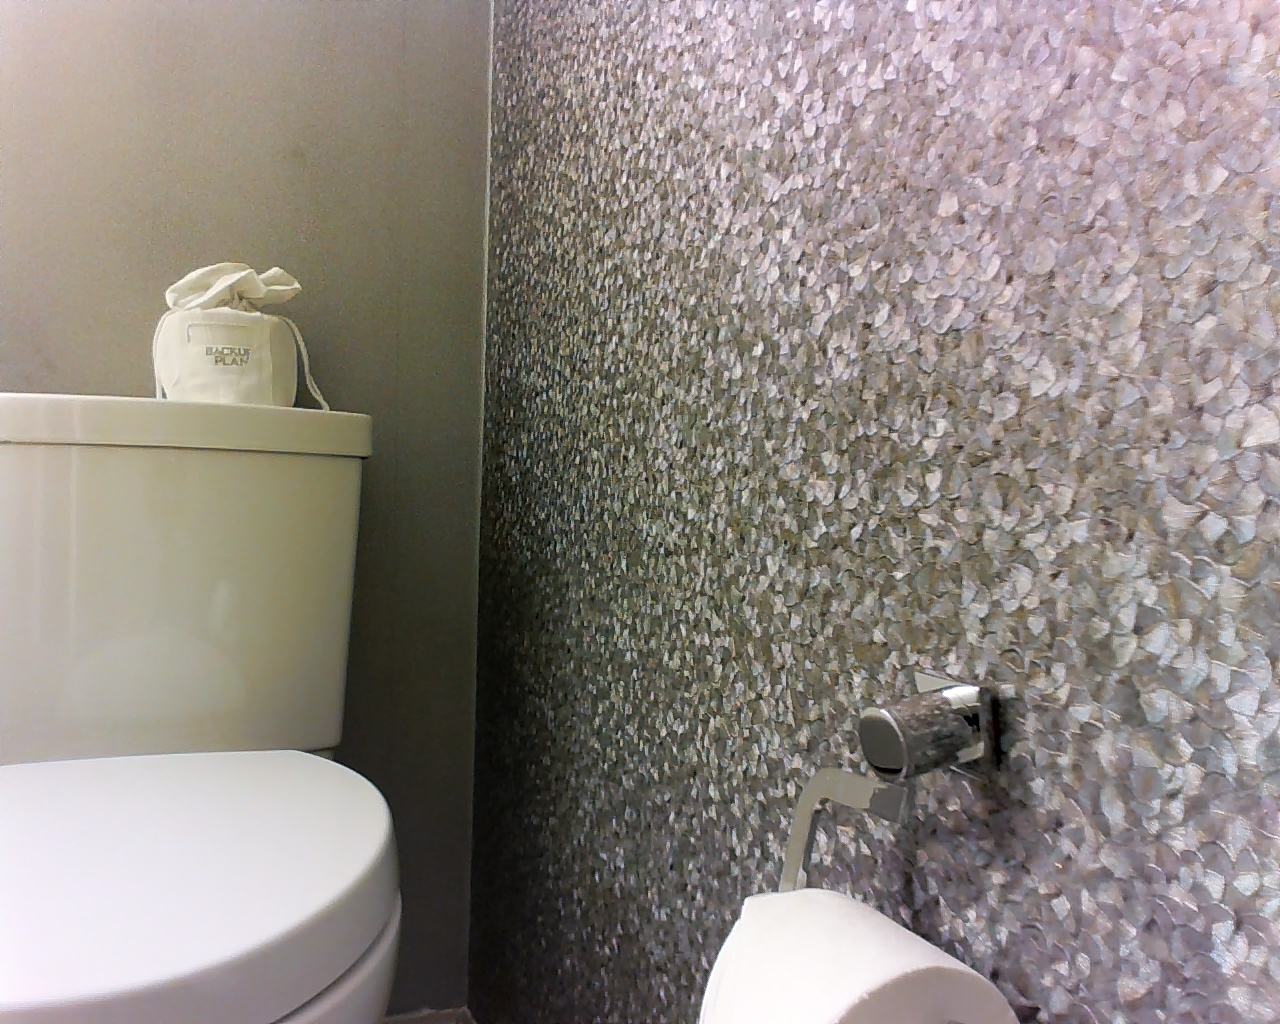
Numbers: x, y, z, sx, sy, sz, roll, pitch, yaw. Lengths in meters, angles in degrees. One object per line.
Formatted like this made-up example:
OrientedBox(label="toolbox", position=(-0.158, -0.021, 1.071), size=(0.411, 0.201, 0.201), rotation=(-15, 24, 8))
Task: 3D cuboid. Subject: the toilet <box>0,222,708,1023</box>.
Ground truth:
OrientedBox(label="toilet", position=(-0.350, 0.280, 0.880), size=(0.500, 0.820, 0.790), rotation=(1, 0, -23))
